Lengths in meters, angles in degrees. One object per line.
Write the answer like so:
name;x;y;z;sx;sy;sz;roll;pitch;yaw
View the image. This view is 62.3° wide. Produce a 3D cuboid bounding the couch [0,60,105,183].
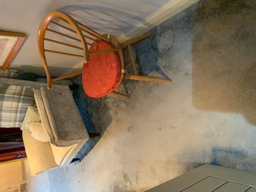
couch;-0.980;0.260;2.380;0.870;0.880;0.900;-50;56;38
